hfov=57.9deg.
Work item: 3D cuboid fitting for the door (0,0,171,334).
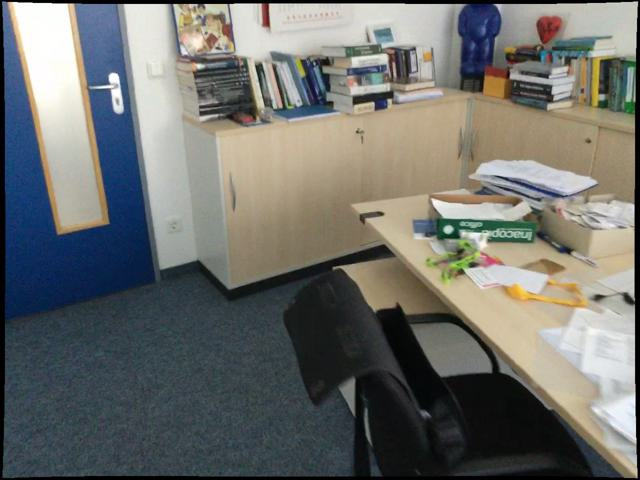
[{"bbox_3d":[-1.249,-0.581,2.450,0.969,2.002,0.170,-19,33,-31],"label":"door"}]
